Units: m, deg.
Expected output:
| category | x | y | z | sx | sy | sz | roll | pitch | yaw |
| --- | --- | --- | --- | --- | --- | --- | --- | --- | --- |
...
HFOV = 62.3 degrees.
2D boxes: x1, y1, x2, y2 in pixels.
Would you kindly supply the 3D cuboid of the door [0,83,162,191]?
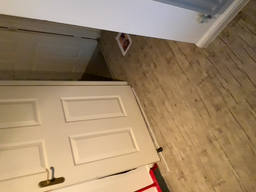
| category | x | y | z | sx | sy | sz | roll | pitch | yaw |
| --- | --- | --- | --- | --- | --- | --- | --- | --- | --- |
| door | -0.690 | 0.250 | 1.590 | 0.050 | 1.990 | 0.880 | -56 | 48 | 41 |
